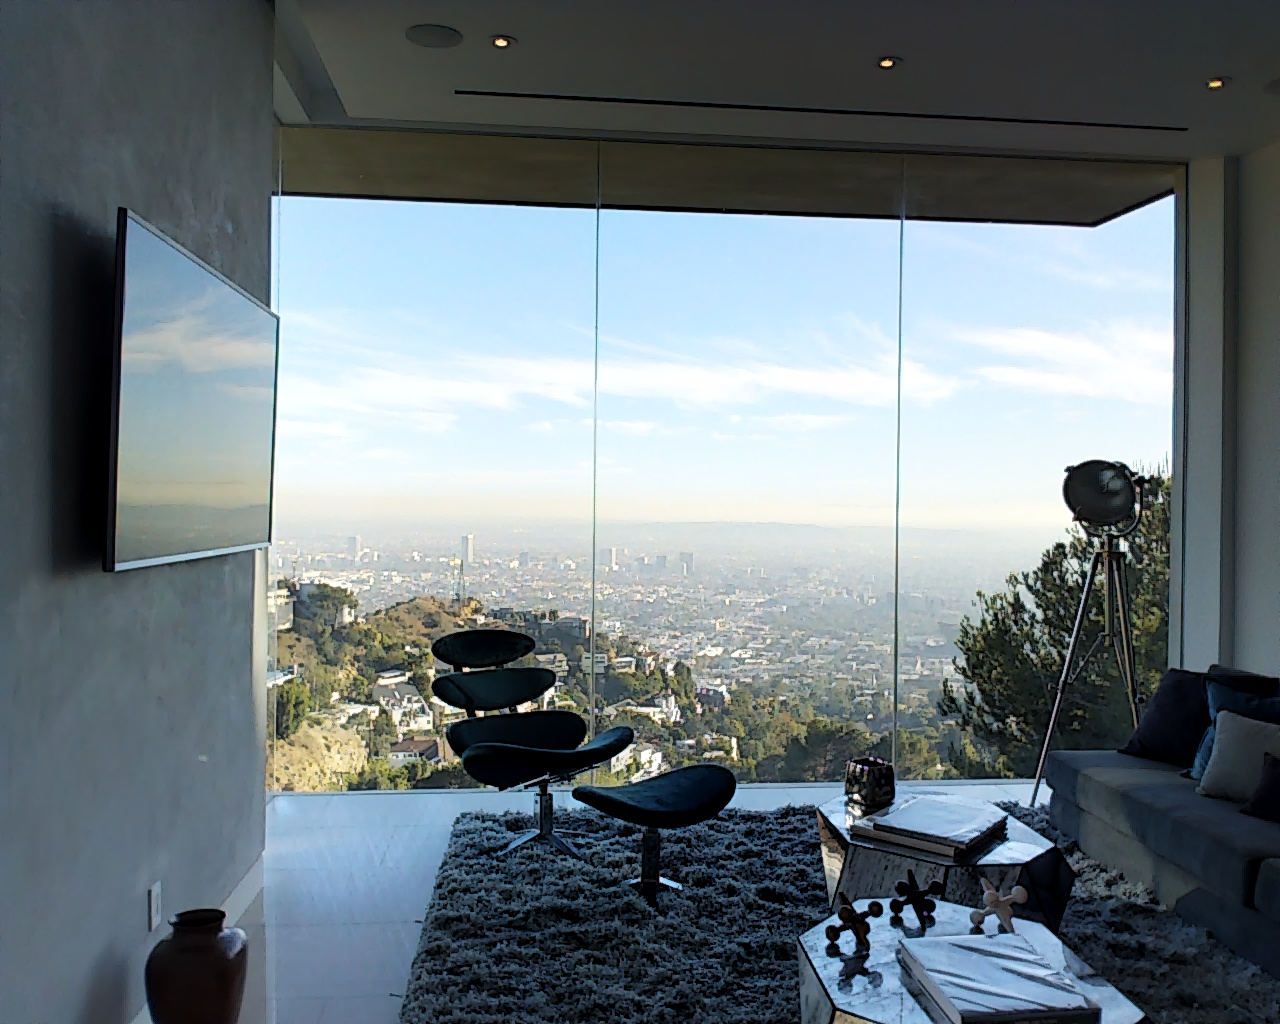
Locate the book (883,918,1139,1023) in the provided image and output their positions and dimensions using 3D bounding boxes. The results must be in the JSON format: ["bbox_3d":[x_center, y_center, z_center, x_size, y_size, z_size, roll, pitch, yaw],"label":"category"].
[{"bbox_3d":[0.800,1.030,2.400,0.380,0.060,0.480,0,0,-5],"label":"book"}]
